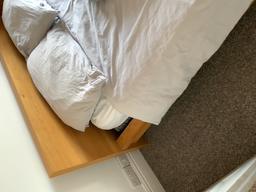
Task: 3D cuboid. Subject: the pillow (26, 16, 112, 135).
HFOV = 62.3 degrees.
[{"bbox_3d":[-0.390,-0.130,1.270,0.590,0.150,0.380,54,124,26],"label":"pillow"}]
